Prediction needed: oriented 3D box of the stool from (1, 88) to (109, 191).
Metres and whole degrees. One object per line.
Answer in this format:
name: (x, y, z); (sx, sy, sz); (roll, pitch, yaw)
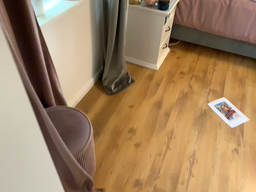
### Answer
stool: (-0.380, 0.300, 1.280); (0.390, 0.460, 0.390); (19, 46, 15)
